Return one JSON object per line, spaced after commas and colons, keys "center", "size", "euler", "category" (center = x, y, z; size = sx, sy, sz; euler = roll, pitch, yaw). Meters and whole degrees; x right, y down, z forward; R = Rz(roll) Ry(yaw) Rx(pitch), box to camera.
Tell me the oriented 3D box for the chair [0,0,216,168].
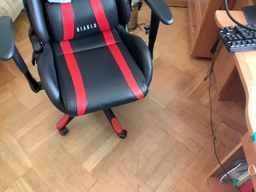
{"center": [-0.170, -0.330, 0.990], "size": [0.660, 1.370, 0.730], "euler": [-16, 56, -12], "category": "chair"}
